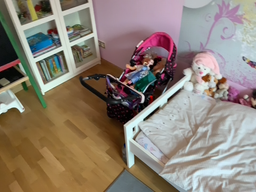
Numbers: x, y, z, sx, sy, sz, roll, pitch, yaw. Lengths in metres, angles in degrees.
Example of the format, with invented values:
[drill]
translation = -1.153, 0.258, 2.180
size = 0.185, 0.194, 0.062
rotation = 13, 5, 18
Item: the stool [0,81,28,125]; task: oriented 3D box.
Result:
[stool]
translation = -1.190, 0.070, 1.980
size = 0.280, 0.200, 0.320
rotation = 30, 51, 30
